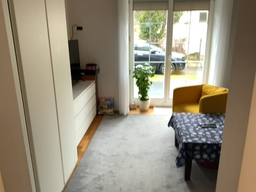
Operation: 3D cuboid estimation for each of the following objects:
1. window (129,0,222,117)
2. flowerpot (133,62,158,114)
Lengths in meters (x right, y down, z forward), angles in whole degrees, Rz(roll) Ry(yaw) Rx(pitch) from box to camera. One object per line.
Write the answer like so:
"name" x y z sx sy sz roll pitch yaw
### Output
"window" 0.940 -0.760 4.560 1.800 2.490 0.110 1 17 5
"flowerpot" 0.380 -0.190 4.640 0.490 1.010 0.550 1 17 6
